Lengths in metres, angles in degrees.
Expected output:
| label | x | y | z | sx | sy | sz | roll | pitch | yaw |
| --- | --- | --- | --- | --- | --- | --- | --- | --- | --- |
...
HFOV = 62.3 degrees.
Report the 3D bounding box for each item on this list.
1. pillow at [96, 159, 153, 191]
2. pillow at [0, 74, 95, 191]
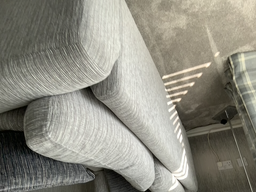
| label | x | y | z | sx | sy | sz | roll | pitch | yaw |
| --- | --- | --- | --- | --- | --- | --- | --- | --- | --- |
| pillow | -0.030 | 0.780 | 1.950 | 0.480 | 0.320 | 0.190 | -7 | 155 | 7 |
| pillow | -0.380 | 0.210 | 0.850 | 0.330 | 0.380 | 0.350 | -19 | 142 | 21 |
